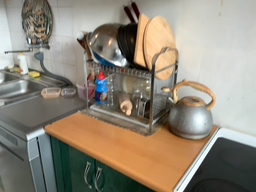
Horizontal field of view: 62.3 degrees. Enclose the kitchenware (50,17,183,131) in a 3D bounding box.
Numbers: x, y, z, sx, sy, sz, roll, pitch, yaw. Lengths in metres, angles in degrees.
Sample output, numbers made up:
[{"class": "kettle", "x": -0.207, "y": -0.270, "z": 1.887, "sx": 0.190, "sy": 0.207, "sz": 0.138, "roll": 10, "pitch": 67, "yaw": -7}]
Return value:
[{"class": "kitchenware", "x": -0.090, "y": -0.170, "z": 1.150, "sx": 0.660, "sy": 0.460, "sz": 0.250, "roll": 16, "pitch": 26, "yaw": 33}]
